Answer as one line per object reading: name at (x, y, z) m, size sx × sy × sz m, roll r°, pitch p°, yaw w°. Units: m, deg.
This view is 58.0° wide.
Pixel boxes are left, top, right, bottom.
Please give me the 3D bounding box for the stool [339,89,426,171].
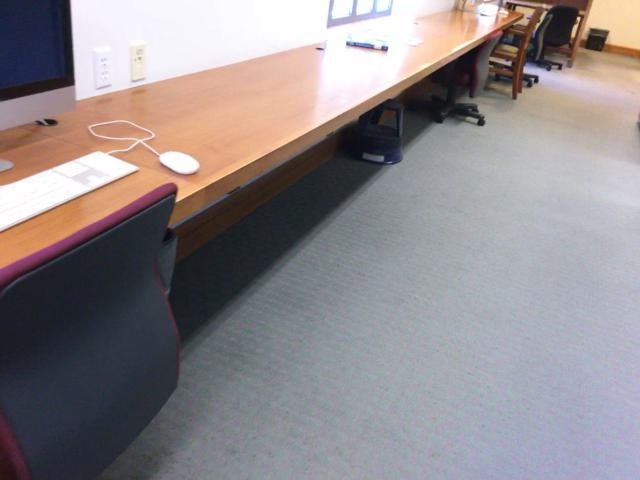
stool at (0.410, -0.730, 3.770) m, size 0.400 × 0.370 × 0.420 m, roll 17°, pitch 27°, yaw 16°
